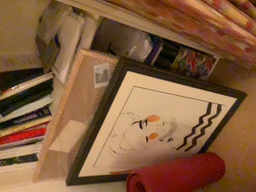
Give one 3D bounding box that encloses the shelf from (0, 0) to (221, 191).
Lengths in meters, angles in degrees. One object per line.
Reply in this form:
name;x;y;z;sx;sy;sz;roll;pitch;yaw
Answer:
shelf;-0.620;-0.050;0.630;0.330;2.420;0.760;43;119;41
